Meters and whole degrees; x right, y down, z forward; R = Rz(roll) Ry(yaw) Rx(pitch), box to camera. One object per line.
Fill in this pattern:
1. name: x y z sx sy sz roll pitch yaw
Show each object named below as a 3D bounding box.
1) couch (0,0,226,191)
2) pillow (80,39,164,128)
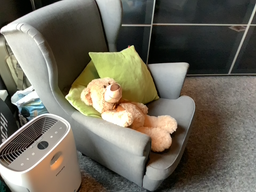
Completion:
1. couch: -0.060 0.000 1.340 0.930 0.980 0.820 18 41 16
2. pillow: -0.020 -0.110 1.420 0.410 0.430 0.290 -28 31 -34
